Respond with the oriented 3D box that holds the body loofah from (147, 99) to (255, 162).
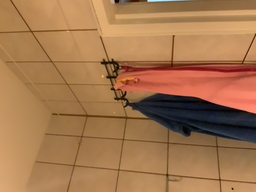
[{"bbox_3d":[0.500,0.160,0.890,0.220,0.820,0.170,77,-162,-58],"label":"body loofah"}]
